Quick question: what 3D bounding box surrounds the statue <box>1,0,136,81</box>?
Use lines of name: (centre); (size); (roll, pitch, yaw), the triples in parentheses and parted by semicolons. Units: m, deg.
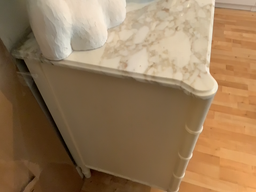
statue: (-0.110, -0.310, 0.470); (0.170, 0.400, 0.350); (11, 50, 12)
